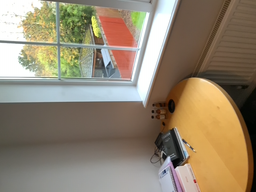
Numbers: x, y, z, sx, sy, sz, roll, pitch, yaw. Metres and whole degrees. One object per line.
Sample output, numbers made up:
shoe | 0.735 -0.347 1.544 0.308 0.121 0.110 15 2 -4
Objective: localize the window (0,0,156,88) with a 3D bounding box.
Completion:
window | -0.360 -0.510 1.180 0.050 1.050 1.140 -109 26 -46
